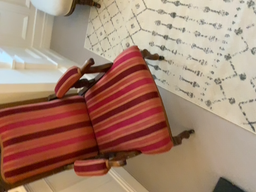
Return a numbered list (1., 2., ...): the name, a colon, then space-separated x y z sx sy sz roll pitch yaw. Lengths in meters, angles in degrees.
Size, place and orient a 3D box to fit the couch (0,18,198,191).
1. couch: -0.250 0.130 1.340 0.840 0.970 0.650 -26 78 39
